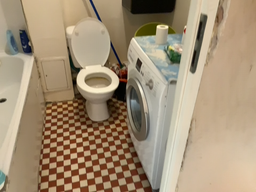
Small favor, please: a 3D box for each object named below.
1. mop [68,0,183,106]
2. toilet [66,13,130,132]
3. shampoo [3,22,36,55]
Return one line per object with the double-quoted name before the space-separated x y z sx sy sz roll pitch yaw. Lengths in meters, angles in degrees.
"mop" -0.030 -0.640 2.050 0.990 1.410 0.300 -9 35 -15
"toilet" -0.290 -0.250 1.960 0.410 0.820 0.730 -8 35 -14
"shampoo" -0.970 -0.520 1.920 0.200 0.270 0.080 -8 35 -15
